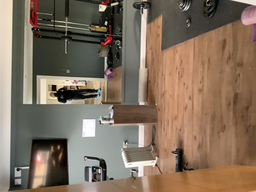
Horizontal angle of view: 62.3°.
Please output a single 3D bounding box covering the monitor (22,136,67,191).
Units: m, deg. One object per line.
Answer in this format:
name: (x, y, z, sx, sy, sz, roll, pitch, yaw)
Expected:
monitor: (-1.190, 0.990, 3.050, 0.920, 0.540, 0.060, -113, 28, -45)
